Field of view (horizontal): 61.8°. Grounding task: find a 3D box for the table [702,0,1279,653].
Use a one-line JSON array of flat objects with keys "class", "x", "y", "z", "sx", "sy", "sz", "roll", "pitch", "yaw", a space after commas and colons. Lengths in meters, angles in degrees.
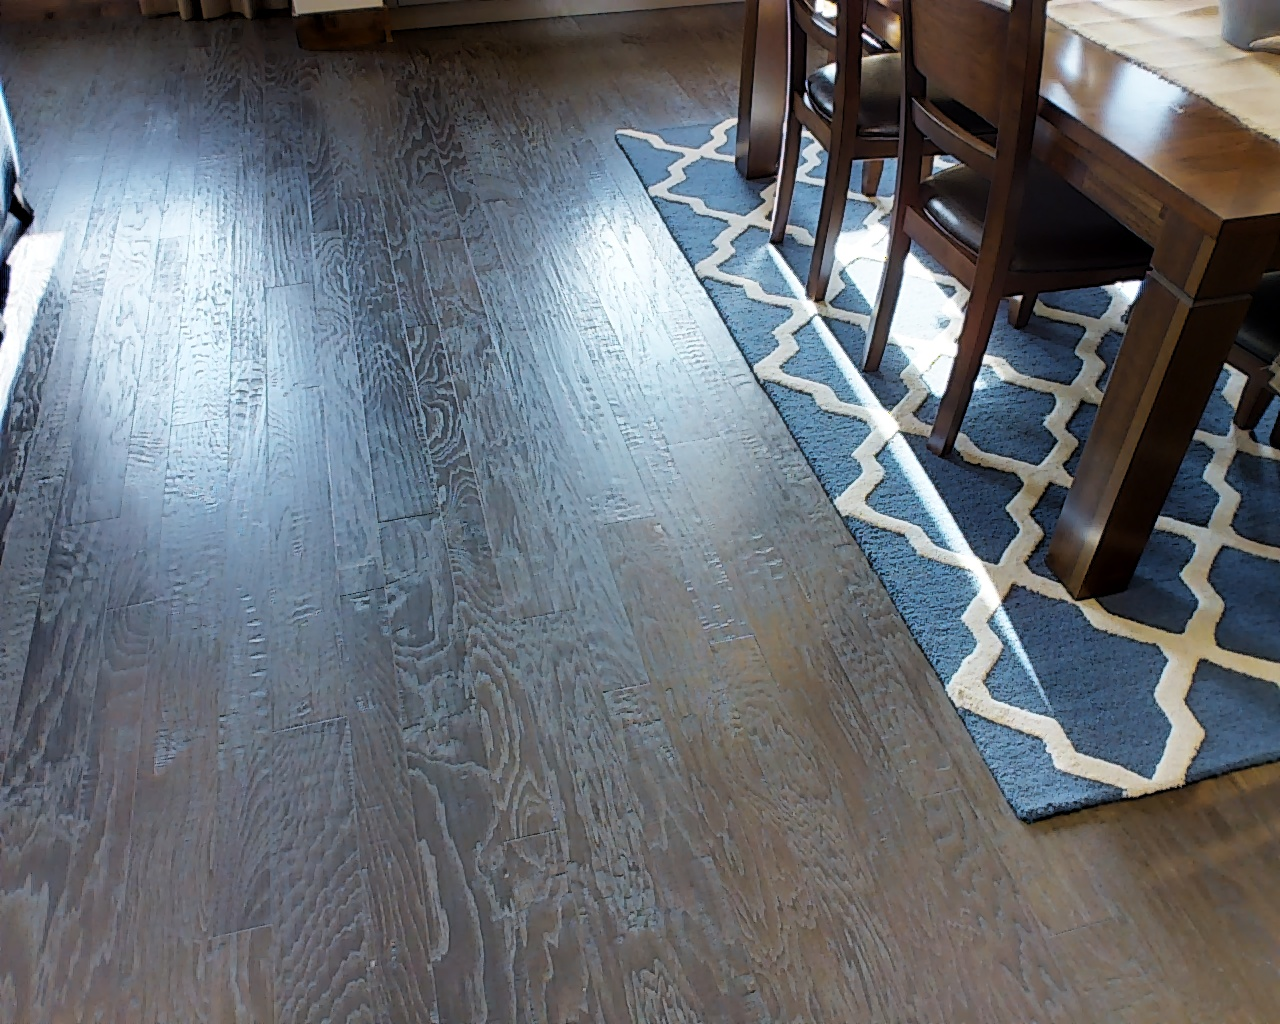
[{"class": "table", "x": 1.020, "y": -0.840, "z": 2.500, "sx": 1.080, "sy": 0.760, "sz": 2.190, "roll": -11, "pitch": 43, "yaw": -12}]
